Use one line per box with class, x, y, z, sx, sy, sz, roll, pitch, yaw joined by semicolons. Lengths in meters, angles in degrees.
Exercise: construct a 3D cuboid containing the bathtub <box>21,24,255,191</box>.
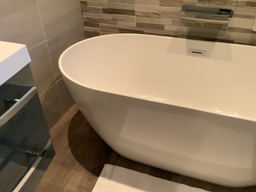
bathtub;0.330;0.050;1.270;1.490;0.570;0.800;12;37;16
